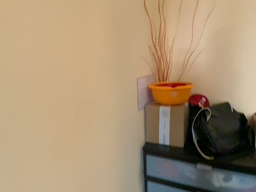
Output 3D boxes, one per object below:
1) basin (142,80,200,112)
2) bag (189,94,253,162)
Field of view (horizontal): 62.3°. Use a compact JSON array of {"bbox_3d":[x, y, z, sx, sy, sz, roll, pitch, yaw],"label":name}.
[{"bbox_3d":[0.330,-0.020,1.560,0.310,0.160,0.390,4,11,30],"label":"basin"},{"bbox_3d":[0.630,0.180,1.430,0.330,0.300,0.440,4,11,28],"label":"bag"}]
